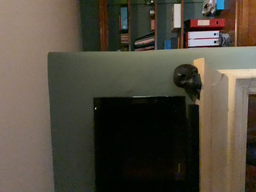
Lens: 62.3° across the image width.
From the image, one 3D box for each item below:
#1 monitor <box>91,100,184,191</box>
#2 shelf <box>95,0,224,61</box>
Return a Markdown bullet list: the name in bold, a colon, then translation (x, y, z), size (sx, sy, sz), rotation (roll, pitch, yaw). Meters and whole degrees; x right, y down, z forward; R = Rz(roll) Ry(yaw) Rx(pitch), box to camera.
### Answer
- **monitor**: translation (0.080, 0.540, 1.490), size (0.040, 0.620, 1.010), rotation (-91, 0, -84)
- **shelf**: translation (0.320, -1.080, 2.310), size (0.270, 1.320, 1.330), rotation (-78, -13, -85)
